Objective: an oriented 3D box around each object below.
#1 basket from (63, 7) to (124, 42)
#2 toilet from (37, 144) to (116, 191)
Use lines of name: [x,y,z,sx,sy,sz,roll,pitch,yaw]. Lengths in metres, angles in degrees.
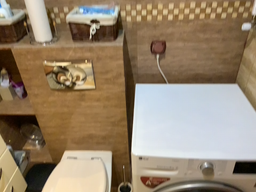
basket: [-0.160,-0.360,1.060,0.260,0.120,0.170,1,35,5]
toilet: [-0.290,0.640,1.310,0.370,0.430,0.520,0,34,3]
